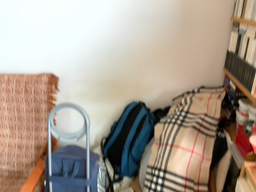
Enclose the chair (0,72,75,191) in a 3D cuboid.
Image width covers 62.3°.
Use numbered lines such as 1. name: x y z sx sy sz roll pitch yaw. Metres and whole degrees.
1. chair: -0.820 0.430 1.340 0.660 0.970 0.810 2 22 3
